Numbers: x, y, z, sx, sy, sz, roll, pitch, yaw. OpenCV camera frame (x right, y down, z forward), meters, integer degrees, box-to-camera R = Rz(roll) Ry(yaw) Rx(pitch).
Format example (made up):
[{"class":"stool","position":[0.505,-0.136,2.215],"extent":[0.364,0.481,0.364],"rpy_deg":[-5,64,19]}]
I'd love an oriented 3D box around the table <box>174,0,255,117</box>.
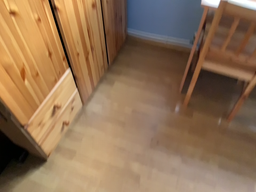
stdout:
[{"class":"table","position":[0.940,-0.310,1.420],"extent":[1.030,0.750,0.560],"rpy_deg":[16,54,12]}]
